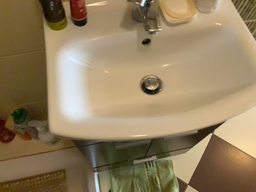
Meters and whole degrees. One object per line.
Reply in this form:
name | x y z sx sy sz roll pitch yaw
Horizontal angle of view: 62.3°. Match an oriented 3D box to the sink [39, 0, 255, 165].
sink | 0.060 -0.070 0.550 0.520 0.130 0.370 -9 65 -7
